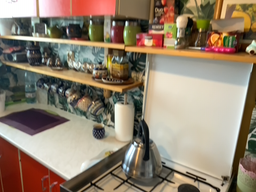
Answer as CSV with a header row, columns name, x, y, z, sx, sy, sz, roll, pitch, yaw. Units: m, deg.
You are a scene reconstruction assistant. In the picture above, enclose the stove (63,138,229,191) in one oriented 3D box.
name,x,y,z,sx,sy,sz,roll,pitch,yaw
stove,0.100,0.450,0.960,0.520,0.190,0.550,15,18,34
